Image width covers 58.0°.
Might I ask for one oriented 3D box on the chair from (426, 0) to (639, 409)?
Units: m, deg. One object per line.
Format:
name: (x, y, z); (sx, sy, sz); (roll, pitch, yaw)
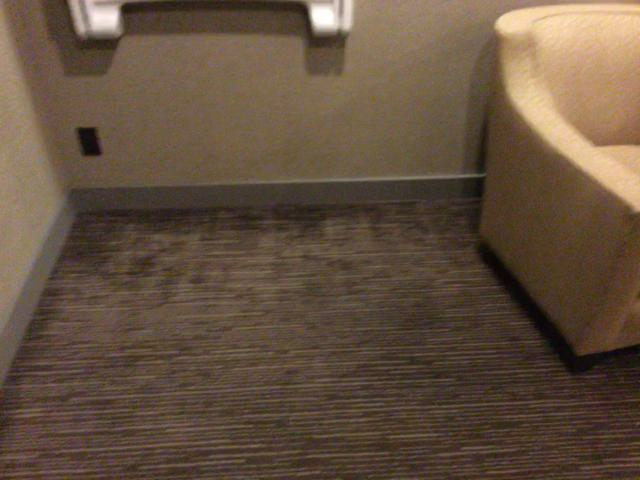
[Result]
chair: (0.980, -0.240, 1.810); (0.880, 0.900, 0.980); (-8, 34, -12)
